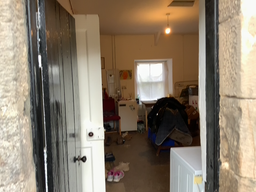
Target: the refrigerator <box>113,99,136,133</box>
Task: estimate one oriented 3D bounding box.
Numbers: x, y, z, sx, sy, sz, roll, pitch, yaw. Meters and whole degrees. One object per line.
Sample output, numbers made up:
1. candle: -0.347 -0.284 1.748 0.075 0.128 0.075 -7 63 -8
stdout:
1. refrigerator: -0.110 0.520 5.850 0.480 0.820 0.660 -3 5 -13
